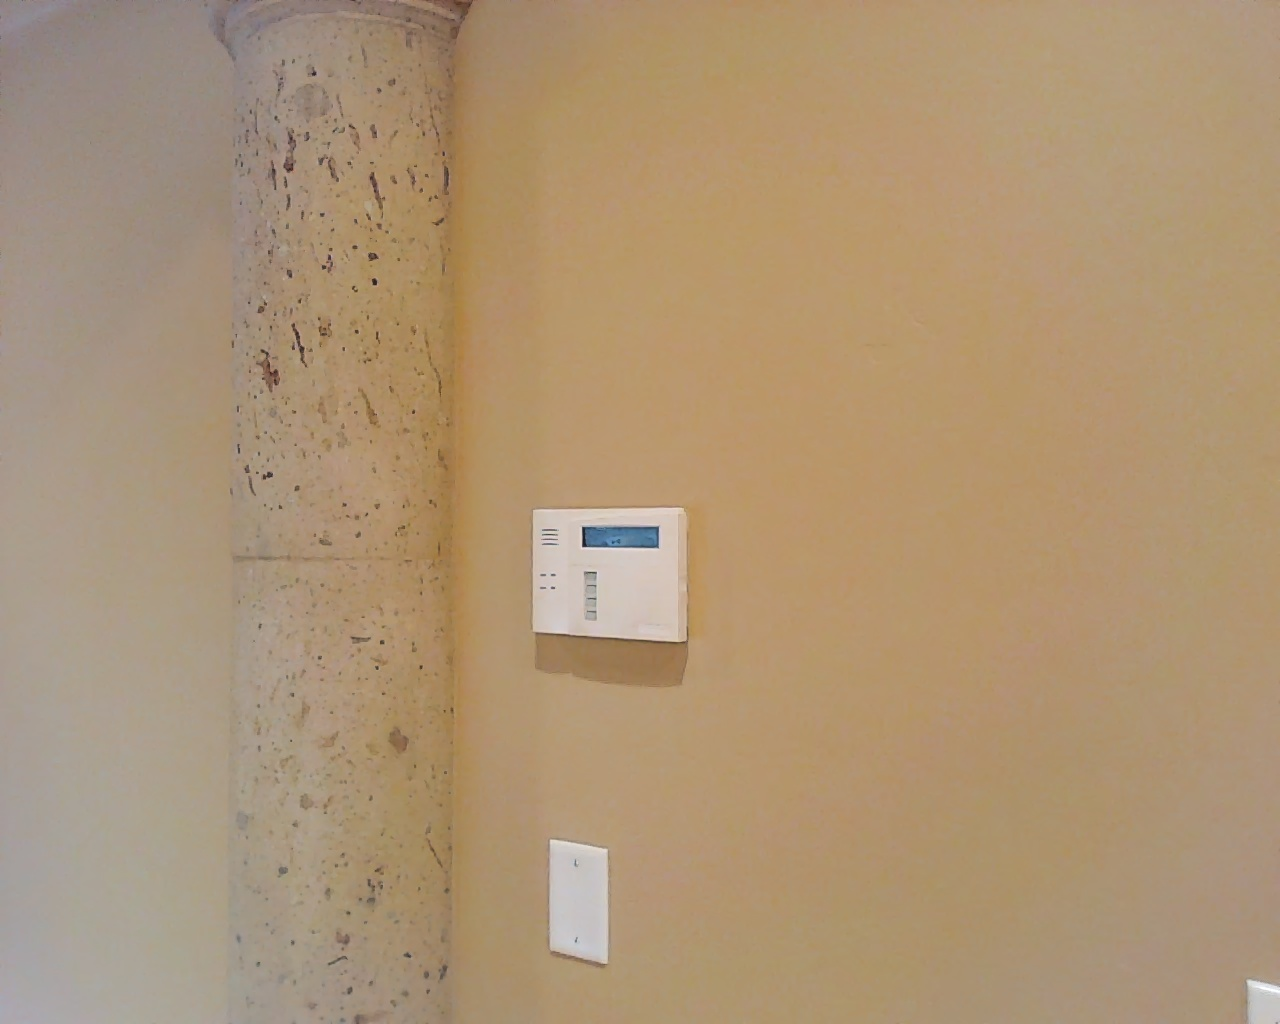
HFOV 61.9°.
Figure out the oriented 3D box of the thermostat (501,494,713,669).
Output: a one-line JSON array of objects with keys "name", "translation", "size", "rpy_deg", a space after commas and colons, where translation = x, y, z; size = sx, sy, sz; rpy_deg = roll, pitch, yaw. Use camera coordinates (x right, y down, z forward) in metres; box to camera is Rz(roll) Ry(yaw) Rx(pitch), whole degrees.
[{"name": "thermostat", "translation": [-0.040, 0.070, 1.120], "size": [0.250, 0.170, 0.030], "rpy_deg": [-1, -1, 34]}]
